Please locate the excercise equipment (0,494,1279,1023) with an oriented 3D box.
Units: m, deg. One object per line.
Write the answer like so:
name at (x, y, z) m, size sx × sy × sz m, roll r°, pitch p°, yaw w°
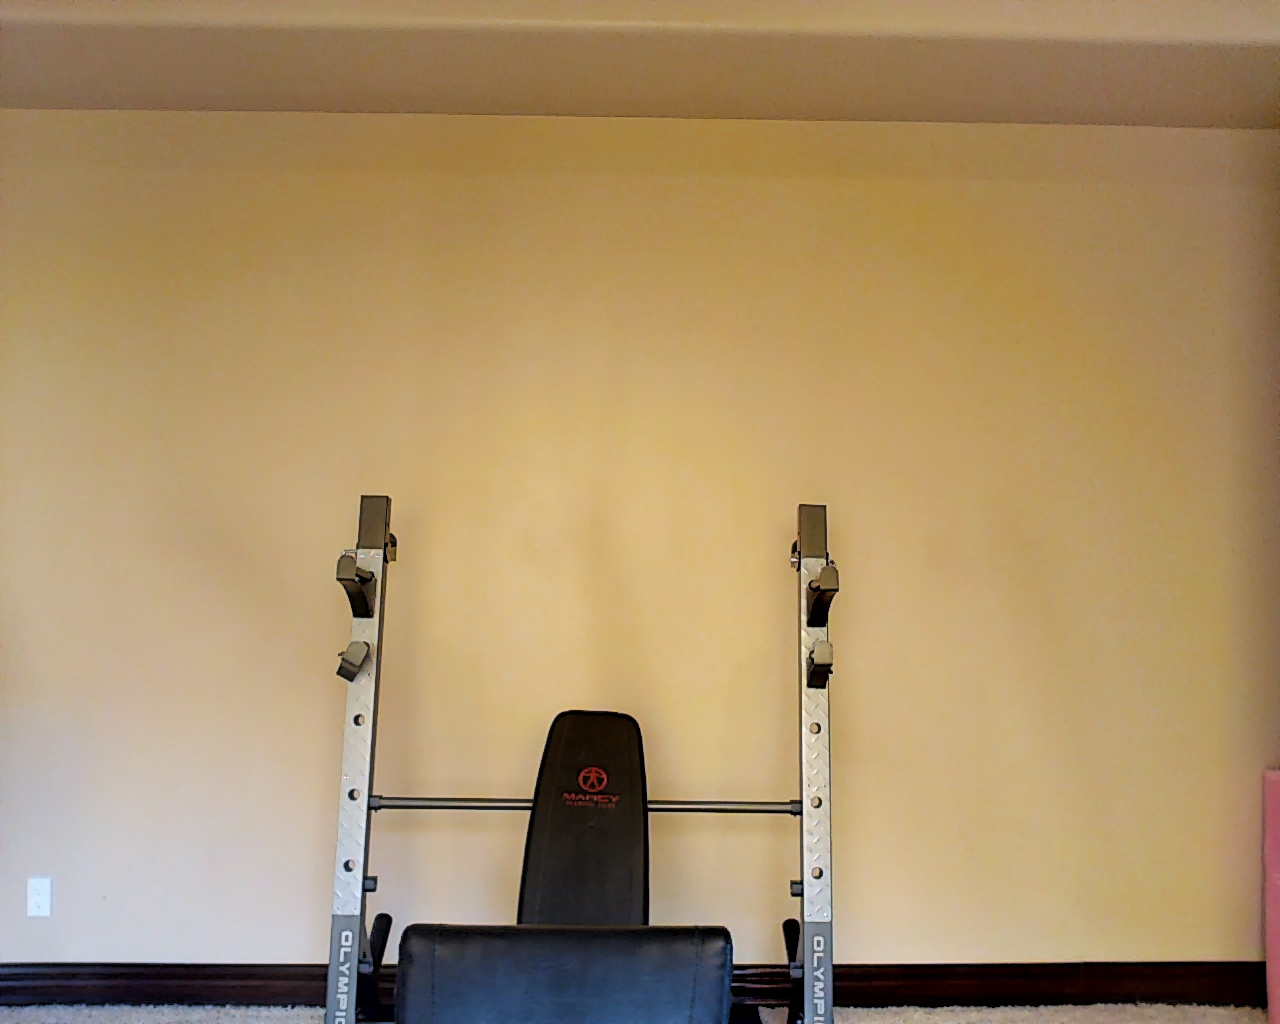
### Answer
excercise equipment at (-0.100, 0.740, 1.900) m, size 1.280 × 1.500 × 2.130 m, roll 1°, pitch 0°, yaw -2°
